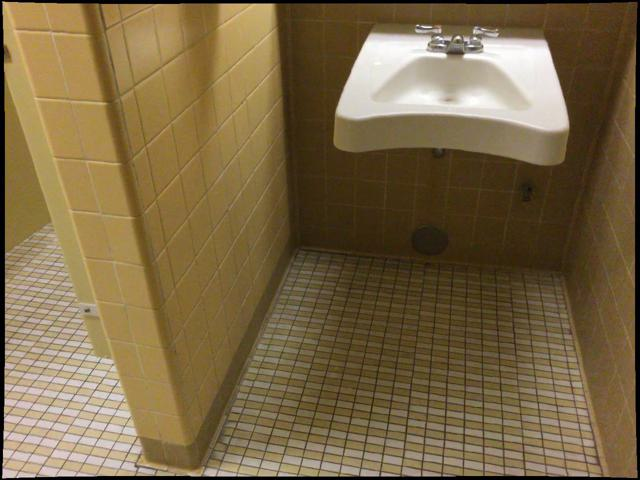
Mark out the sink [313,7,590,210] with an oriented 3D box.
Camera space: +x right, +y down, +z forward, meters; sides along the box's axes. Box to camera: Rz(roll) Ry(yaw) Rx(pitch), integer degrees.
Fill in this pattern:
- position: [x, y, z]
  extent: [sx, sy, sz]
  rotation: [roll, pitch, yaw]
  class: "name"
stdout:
- position: [0.329, -0.391, 1.510]
  extent: [0.549, 0.220, 0.721]
  rotation: [7, 36, 10]
  class: "sink"
